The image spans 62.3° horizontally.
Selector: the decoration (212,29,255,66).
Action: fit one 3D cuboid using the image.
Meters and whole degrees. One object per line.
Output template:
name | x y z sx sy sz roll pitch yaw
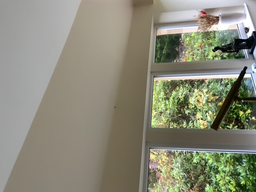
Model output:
decoration | 1.320 -0.590 2.660 0.410 0.430 0.190 75 -161 -52
